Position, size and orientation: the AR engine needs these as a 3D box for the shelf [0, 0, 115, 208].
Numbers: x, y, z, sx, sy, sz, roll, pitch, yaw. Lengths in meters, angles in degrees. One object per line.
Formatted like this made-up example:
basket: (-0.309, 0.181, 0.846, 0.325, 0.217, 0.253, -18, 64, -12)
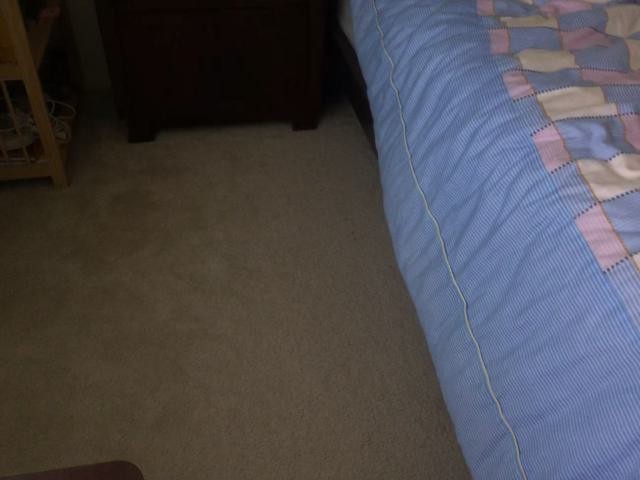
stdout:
shelf: (-0.940, -0.730, 1.660, 0.380, 1.030, 0.750, -6, 38, -7)
